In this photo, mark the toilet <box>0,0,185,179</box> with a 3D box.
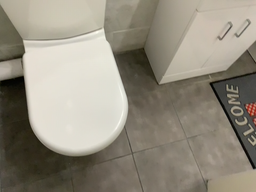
[{"bbox_3d":[-0.220,-0.100,0.880,0.400,0.790,0.680,-14,67,-14],"label":"toilet"}]
